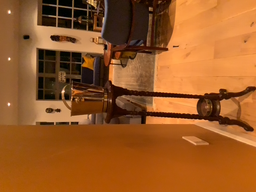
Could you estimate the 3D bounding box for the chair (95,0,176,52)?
[{"bbox_3d":[0.050,-0.970,2.750,0.770,0.820,0.630,-162,74,-73],"label":"chair"}]
